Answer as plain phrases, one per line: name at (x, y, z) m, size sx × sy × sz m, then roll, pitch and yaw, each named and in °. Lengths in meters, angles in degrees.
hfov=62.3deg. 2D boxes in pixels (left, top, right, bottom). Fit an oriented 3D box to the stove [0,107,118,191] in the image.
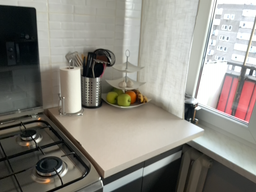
stove at (-0.430, 0.260, 0.840) m, size 0.500 × 0.120 × 0.620 m, roll -12°, pitch 26°, yaw -38°
